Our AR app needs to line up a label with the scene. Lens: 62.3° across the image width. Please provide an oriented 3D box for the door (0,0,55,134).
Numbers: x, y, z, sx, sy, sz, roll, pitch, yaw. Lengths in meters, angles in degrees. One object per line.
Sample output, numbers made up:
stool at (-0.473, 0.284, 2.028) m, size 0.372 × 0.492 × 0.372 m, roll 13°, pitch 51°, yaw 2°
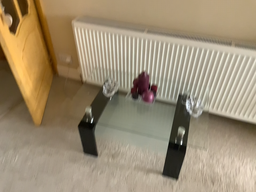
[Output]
door at (-0.810, -0.700, 1.450) m, size 0.040 × 2.040 × 0.820 m, roll -4°, pitch 43°, yaw -5°

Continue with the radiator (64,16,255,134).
radiator at (0.410, -0.150, 1.710) m, size 1.900 × 0.690 × 0.140 m, roll 14°, pitch 44°, yaw 15°
